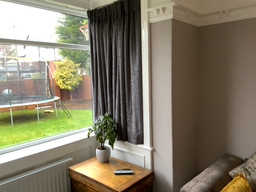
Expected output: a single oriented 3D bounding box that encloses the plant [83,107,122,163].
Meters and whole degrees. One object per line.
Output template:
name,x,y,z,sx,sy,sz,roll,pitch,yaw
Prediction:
plant,-0.320,0.470,2.690,0.320,0.590,0.340,4,9,42
